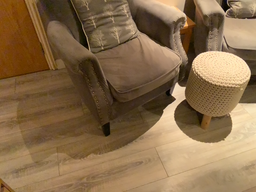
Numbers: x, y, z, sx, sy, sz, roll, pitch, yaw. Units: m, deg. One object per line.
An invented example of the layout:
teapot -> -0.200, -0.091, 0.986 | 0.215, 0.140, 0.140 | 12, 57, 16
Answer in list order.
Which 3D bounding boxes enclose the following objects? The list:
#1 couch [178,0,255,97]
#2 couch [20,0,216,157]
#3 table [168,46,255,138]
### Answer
couch -> 0.860, -0.580, 1.560 | 0.750, 0.910, 0.750 | 1, 46, 3
couch -> -0.070, -0.300, 1.360 | 0.750, 0.850, 0.750 | -31, 53, -25
table -> 0.530, -0.030, 1.400 | 0.370, 0.390, 0.360 | -14, 48, -11
